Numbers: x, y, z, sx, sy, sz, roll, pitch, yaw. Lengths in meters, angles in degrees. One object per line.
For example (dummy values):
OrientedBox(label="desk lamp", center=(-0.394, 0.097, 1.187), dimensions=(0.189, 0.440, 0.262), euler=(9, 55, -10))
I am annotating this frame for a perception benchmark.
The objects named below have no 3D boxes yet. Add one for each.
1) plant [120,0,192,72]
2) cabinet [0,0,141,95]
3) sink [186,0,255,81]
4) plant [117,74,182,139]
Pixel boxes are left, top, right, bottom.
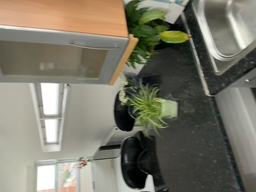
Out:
OrientedBox(label="plant", center=(0.150, -0.370, 1.340), dimensions=(0.370, 0.280, 0.280), euler=(129, 137, -61))
OrientedBox(label="cabinet", center=(-0.440, -0.290, 1.290), dimensions=(0.640, 0.820, 0.320), euler=(126, 140, -59))
OrientedBox(label="sink", center=(0.550, -0.400, 1.020), dimensions=(0.380, 0.240, 0.530), euler=(126, 140, -59))
OrientedBox(label="plant", center=(0.120, 0.100, 1.520), dimensions=(0.490, 0.250, 0.290), euler=(126, 140, -59))
